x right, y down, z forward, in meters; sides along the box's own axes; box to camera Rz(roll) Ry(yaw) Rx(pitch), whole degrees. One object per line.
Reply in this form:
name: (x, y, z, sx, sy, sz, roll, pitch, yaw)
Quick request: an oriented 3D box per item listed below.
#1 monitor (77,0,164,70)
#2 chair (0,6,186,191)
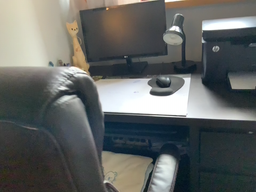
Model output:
monitor: (-0.040, -0.360, 1.280, 0.500, 0.380, 0.020, -1, 17, 10)
chair: (-0.130, 0.320, 0.810, 0.610, 1.110, 0.690, 2, 28, 21)
